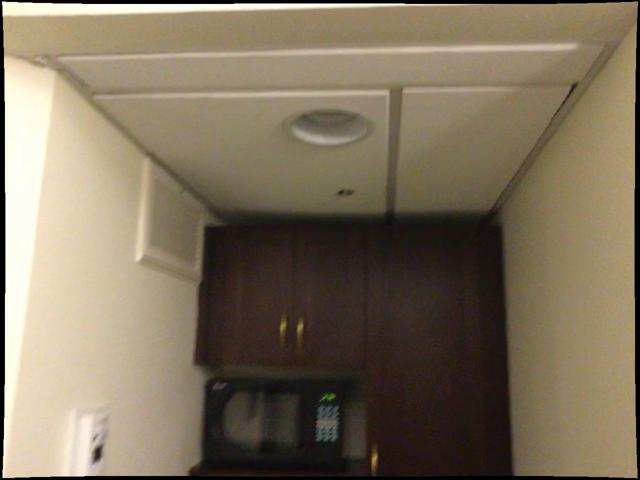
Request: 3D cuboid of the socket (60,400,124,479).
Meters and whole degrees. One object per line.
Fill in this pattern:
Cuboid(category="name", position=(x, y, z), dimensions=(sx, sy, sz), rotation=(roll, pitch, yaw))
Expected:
Cuboid(category="socket", position=(-0.450, 0.400, 1.150), dimensions=(0.050, 0.150, 0.140), rotation=(-1, -12, 6))

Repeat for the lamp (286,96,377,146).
Cuboid(category="lamp", position=(0.030, -0.260, 1.280), dimensions=(0.190, 0.050, 0.140), rotation=(-1, -12, 6))

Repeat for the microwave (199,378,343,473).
Cuboid(category="microwave", position=(-0.150, 0.591, 1.870), dimensions=(0.440, 0.270, 0.140), rotation=(-1, -12, 6))
